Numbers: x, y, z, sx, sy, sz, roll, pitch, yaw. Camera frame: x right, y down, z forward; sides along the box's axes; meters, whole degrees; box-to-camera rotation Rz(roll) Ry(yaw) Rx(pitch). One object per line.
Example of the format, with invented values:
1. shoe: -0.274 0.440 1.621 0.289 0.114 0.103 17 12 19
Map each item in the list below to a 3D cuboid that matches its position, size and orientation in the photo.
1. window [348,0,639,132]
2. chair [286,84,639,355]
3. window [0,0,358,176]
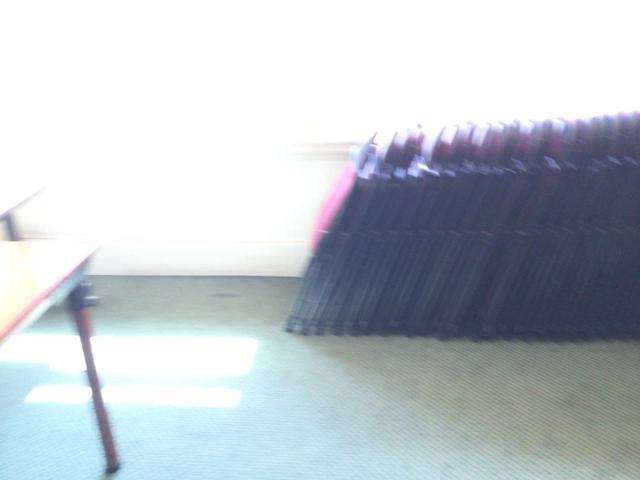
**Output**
1. window: 0.700 -1.040 2.310 1.170 1.060 0.310 -4 22 7
2. chair: 0.670 -0.070 2.210 1.460 0.880 0.390 -4 22 7
3. window: -0.600 -0.890 2.350 1.420 1.110 0.300 -4 22 7
